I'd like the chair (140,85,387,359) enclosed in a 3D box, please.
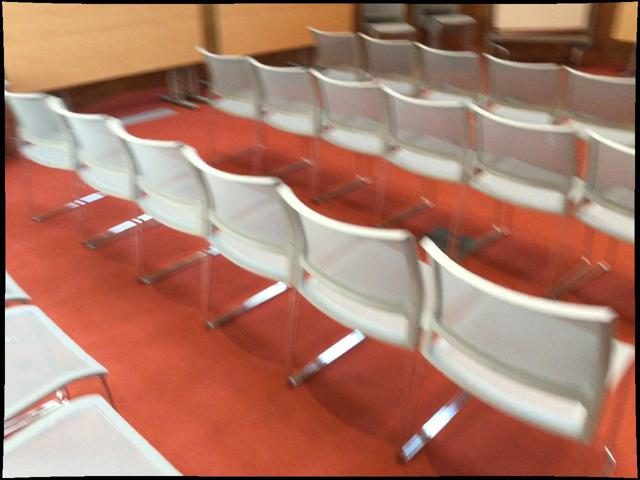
[{"bbox_3d":[-0.200,-0.110,2.260,0.570,0.690,0.700,-30,43,-32],"label":"chair"}]

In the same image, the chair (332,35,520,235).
[{"bbox_3d":[0.539,-0.591,3.100,0.610,0.730,0.700,-30,43,-32],"label":"chair"}]

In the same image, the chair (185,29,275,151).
[{"bbox_3d":[-0.569,-0.961,3.720,0.500,0.670,0.160,19,41,28],"label":"chair"}]

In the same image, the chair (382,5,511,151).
[{"bbox_3d":[0.839,-1.131,3.980,0.450,0.750,0.680,-32,44,-34],"label":"chair"}]

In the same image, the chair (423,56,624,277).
[{"bbox_3d":[0.939,-0.380,2.760,0.600,0.720,0.640,24,44,33],"label":"chair"}]

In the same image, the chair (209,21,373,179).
[{"bbox_3d":[-0.160,-0.891,3.580,0.830,0.680,0.510,21,42,30],"label":"chair"}]

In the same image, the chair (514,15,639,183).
[{"bbox_3d":[1.618,-0.871,3.490,0.540,0.730,0.620,25,44,34],"label":"chair"}]

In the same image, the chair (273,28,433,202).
[{"bbox_3d":[0.200,-0.751,3.370,0.660,0.710,0.580,23,43,32],"label":"chair"}]

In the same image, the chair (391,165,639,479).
[{"bbox_3d":[0.579,0.290,1.640,0.530,0.740,0.520,25,44,34],"label":"chair"}]
